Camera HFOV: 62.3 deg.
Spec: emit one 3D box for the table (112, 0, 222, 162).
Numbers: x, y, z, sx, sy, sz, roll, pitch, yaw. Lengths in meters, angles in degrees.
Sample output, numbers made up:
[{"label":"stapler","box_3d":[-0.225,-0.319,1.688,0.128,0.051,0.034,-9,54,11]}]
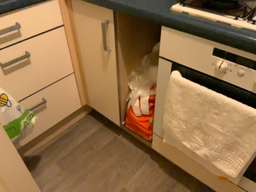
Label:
[{"label":"table","box_3d":[0.220,-0.130,1.250,0.220,0.930,0.590,30,50,30]}]
